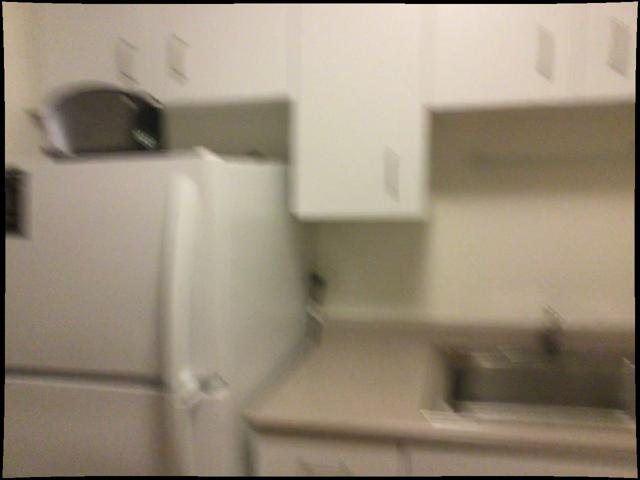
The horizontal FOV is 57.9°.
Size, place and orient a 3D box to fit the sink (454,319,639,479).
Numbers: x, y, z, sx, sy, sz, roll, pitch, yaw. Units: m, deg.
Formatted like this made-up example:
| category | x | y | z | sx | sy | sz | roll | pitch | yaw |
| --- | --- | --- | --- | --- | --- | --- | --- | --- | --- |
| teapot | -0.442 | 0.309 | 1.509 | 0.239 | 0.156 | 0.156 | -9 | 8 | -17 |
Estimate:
| category | x | y | z | sx | sy | sz | roll | pitch | yaw |
| --- | --- | --- | --- | --- | --- | --- | --- | --- | --- |
| sink | 0.609 | 0.430 | 1.450 | 0.529 | 0.310 | 0.550 | 0 | 8 | 13 |
